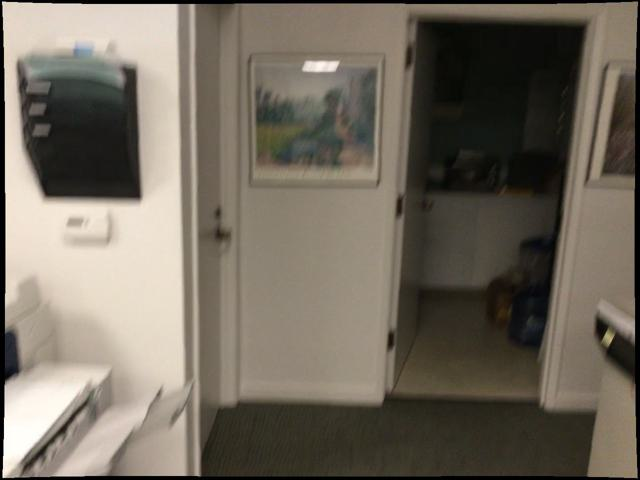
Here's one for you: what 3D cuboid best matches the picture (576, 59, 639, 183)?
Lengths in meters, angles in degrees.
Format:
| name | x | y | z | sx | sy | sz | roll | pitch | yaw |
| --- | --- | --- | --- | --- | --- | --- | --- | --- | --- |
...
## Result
| name | x | y | z | sx | sy | sz | roll | pitch | yaw |
| --- | --- | --- | --- | --- | --- | --- | --- | --- | --- |
| picture | 1.678 | -0.551 | 2.750 | 0.779 | 0.561 | 0.120 | 3 | 15 | 1 |

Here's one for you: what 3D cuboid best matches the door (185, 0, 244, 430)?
| name | x | y | z | sx | sy | sz | roll | pitch | yaw |
| --- | --- | --- | --- | --- | --- | --- | --- | --- | --- |
| door | -0.460 | -0.120 | 2.640 | 0.130 | 1.852 | 0.580 | 3 | 15 | 1 |

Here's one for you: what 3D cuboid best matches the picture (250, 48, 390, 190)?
| name | x | y | z | sx | sy | sz | roll | pitch | yaw |
| --- | --- | --- | --- | --- | --- | --- | --- | --- | --- |
| picture | -0.010 | -0.591 | 2.860 | 0.659 | 0.651 | 0.070 | 3 | 15 | 1 |

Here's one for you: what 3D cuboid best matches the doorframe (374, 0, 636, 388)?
| name | x | y | z | sx | sy | sz | roll | pitch | yaw |
| --- | --- | --- | --- | --- | --- | --- | --- | --- | --- |
| doorframe | 0.879 | -0.200 | 3.050 | 1.049 | 1.922 | 0.360 | 3 | 15 | 1 |

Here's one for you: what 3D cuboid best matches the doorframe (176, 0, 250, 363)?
| name | x | y | z | sx | sy | sz | roll | pitch | yaw |
| --- | --- | --- | --- | --- | --- | --- | --- | --- | --- |
| doorframe | -0.440 | -0.360 | 2.540 | 0.140 | 1.551 | 0.830 | 3 | 15 | 1 |
